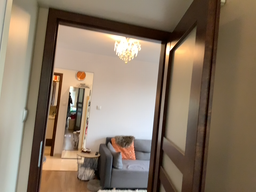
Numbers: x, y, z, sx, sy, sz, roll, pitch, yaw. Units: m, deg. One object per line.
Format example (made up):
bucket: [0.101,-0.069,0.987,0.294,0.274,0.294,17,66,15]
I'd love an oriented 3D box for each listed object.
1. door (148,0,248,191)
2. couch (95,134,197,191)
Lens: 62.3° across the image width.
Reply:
door: [0.260,0.450,1.170,0.120,2.080,0.920,6,-2,-2]
couch: [0.290,1.260,4.130,1.670,0.780,0.970,7,-2,-15]
